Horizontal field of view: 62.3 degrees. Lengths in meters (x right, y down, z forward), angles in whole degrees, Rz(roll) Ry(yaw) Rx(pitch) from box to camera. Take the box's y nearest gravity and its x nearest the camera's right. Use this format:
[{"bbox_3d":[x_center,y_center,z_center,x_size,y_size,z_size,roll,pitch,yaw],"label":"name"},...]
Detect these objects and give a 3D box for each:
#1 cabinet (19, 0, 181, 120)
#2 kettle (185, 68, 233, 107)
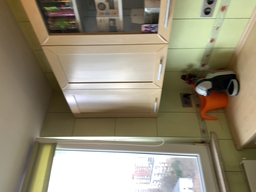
[{"bbox_3d":[-0.120,-0.280,1.440,1.200,0.740,0.310,88,-178,-53],"label":"cabinet"},{"bbox_3d":[0.670,-0.070,1.800,0.280,0.280,0.200,88,-178,-53],"label":"kettle"}]
